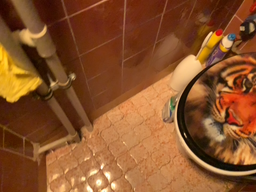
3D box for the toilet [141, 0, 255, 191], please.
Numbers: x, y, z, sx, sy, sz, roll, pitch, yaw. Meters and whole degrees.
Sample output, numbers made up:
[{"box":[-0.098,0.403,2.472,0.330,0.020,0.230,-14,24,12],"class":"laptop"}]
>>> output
[{"box":[0.460,0.000,0.770,0.660,0.800,0.360,-31,72,-15],"class":"toilet"}]
